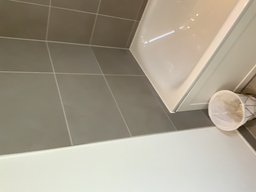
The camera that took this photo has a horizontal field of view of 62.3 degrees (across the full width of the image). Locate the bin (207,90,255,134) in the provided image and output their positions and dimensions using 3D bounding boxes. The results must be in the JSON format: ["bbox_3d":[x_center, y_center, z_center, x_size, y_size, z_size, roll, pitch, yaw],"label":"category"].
[{"bbox_3d":[0.700,0.100,1.380,0.190,0.220,0.200,63,142,36],"label":"bin"}]
